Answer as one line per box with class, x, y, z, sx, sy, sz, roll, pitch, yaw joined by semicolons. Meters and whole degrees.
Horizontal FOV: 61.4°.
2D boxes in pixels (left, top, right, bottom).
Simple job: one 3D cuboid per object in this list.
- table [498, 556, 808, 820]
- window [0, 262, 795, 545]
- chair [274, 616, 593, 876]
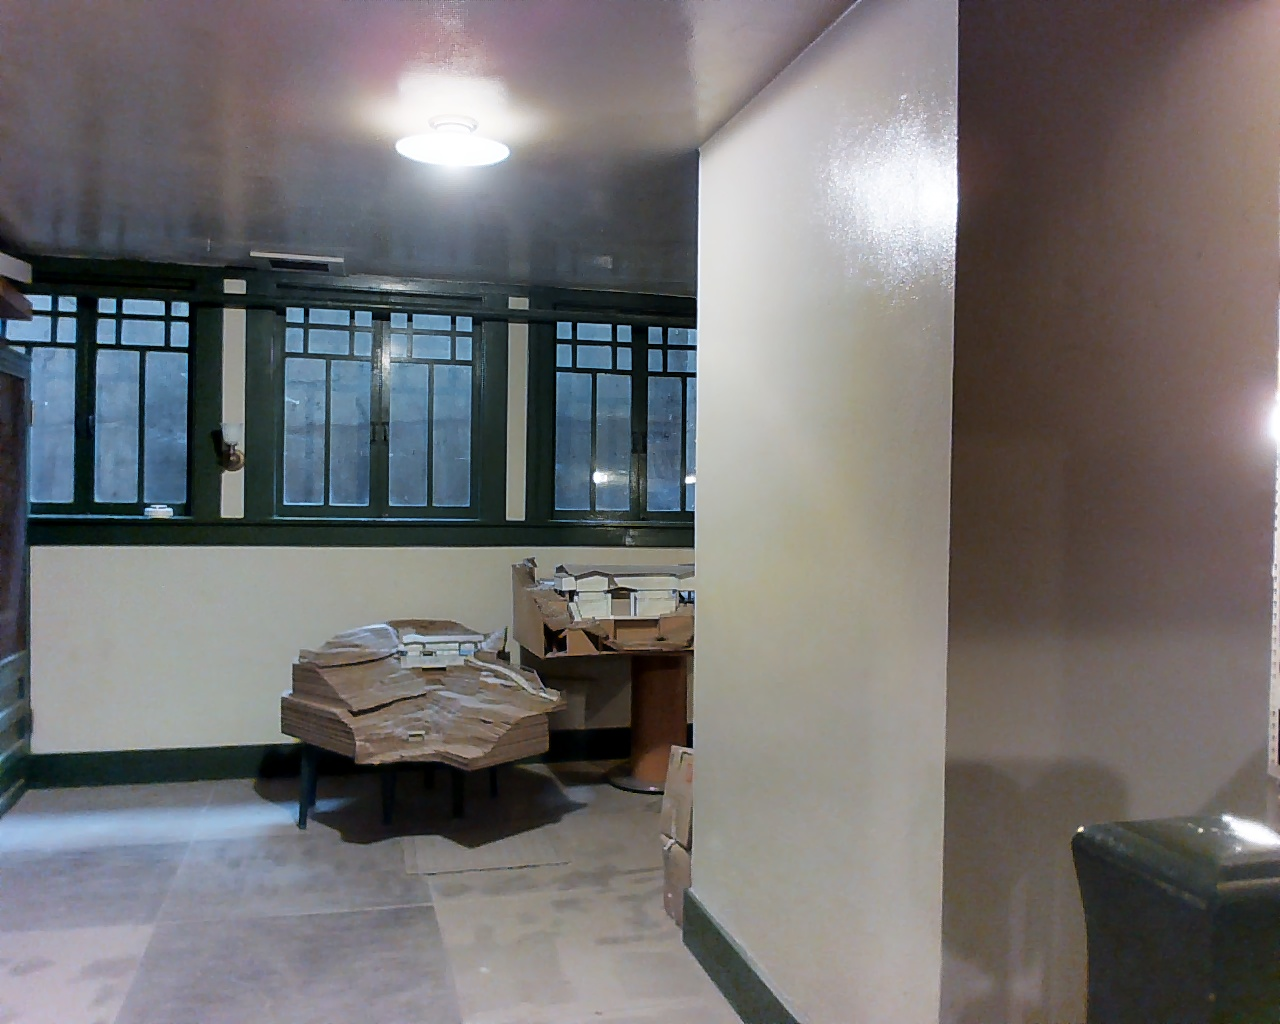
table;0.010;0.850;5.780;1.380;1.160;1.200;0;1;-15
window;-1.200;-0.540;6.150;4.399;1.450;0.150;0;1;-15
chair;-1.050;1.040;5.300;1.310;0.850;1.600;0;1;-15
